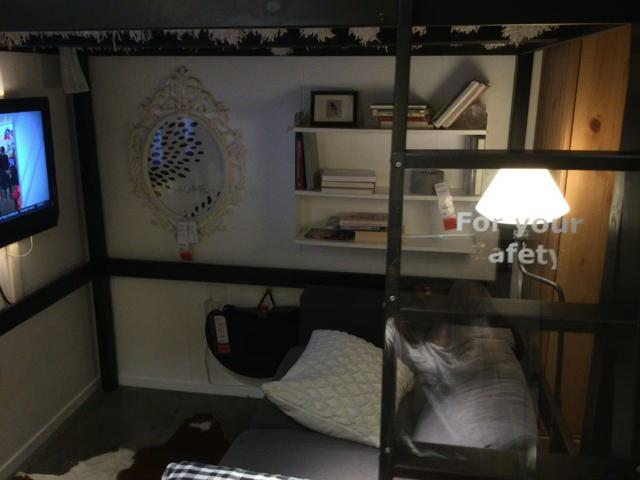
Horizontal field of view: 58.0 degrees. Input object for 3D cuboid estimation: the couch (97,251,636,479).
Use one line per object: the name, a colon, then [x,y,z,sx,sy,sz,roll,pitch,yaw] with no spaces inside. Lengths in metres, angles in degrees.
couch: [0.230,0.670,1.910,1.050,0.790,1.660,2,16,11]

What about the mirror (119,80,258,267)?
mirror: [-0.600,-0.300,2.680,0.580,0.840,0.080,2,16,11]
